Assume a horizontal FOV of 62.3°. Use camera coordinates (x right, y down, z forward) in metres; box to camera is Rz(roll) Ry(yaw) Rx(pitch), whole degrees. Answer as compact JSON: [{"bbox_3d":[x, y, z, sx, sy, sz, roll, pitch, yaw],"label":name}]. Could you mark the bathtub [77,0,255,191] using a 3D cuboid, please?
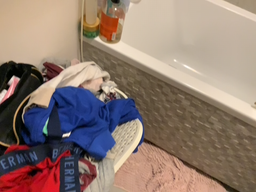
[{"bbox_3d":[0.520,0.000,1.150,1.380,0.590,0.700,28,55,9],"label":"bathtub"}]
